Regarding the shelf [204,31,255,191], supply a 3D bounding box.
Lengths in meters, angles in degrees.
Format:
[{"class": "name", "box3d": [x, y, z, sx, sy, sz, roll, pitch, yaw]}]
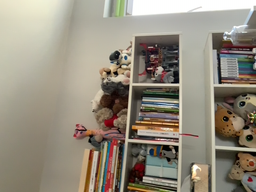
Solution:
[{"class": "shelf", "box3d": [0.580, 0.130, 1.160, 0.190, 0.280, 0.980, 55, -141, -70]}]

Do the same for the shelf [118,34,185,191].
[{"class": "shelf", "box3d": [0.160, 0.120, 1.250, 0.200, 0.310, 0.970, 55, -141, -70]}]
